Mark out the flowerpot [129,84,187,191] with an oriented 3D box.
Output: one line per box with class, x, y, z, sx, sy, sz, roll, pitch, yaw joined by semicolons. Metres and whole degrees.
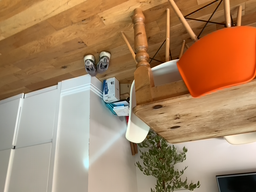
flowerpot;0.330;0.590;2.480;0.500;1.410;0.260;-12;153;18
